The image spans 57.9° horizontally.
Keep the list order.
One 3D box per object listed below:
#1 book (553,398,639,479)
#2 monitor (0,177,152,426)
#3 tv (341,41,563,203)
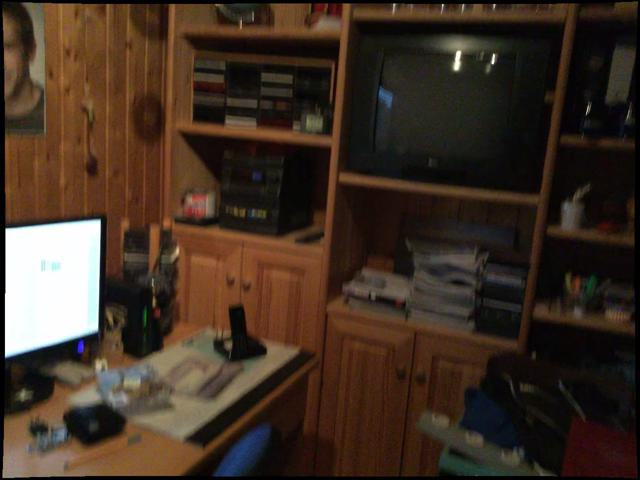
[{"bbox_3d":[0.769,0.561,1.540,0.270,0.040,0.320,7,24,18],"label":"book"},{"bbox_3d":[-0.729,0.150,1.340,0.220,0.440,0.590,17,28,36],"label":"monitor"},{"bbox_3d":[0.400,-0.390,1.840,0.629,0.440,0.200,7,24,18],"label":"tv"}]
